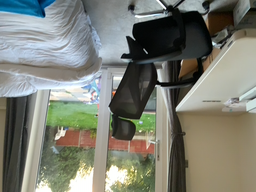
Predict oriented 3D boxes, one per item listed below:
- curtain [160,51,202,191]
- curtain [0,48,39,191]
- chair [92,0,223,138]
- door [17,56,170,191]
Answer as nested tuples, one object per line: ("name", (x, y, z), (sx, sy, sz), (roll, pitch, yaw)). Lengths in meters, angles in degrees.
("curtain", (0.600, 0.570, 2.480), (0.420, 2.290, 0.250), (1, 165, 5))
("curtain", (-1.460, 0.450, 2.550), (0.360, 2.140, 0.200), (2, 165, 4))
("chair", (0.260, -0.270, 1.540), (0.670, 1.070, 0.650), (-5, 164, 29))
("door", (-0.410, 0.470, 2.890), (1.920, 2.110, 0.130), (2, 165, 4))
